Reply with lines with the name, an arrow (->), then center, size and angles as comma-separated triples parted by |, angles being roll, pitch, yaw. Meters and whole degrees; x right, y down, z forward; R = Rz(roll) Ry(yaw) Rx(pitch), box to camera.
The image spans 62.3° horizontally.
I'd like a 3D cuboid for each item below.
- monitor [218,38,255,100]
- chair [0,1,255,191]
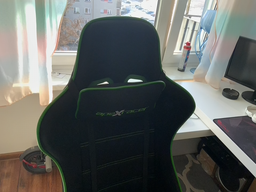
monitor -> 0.840, -0.130, 1.340 | 0.040, 0.310, 0.480 | -20, 44, -33
chair -> 0.020, 0.430, 0.730 | 0.730, 1.250, 0.770 | -7, 33, -23
